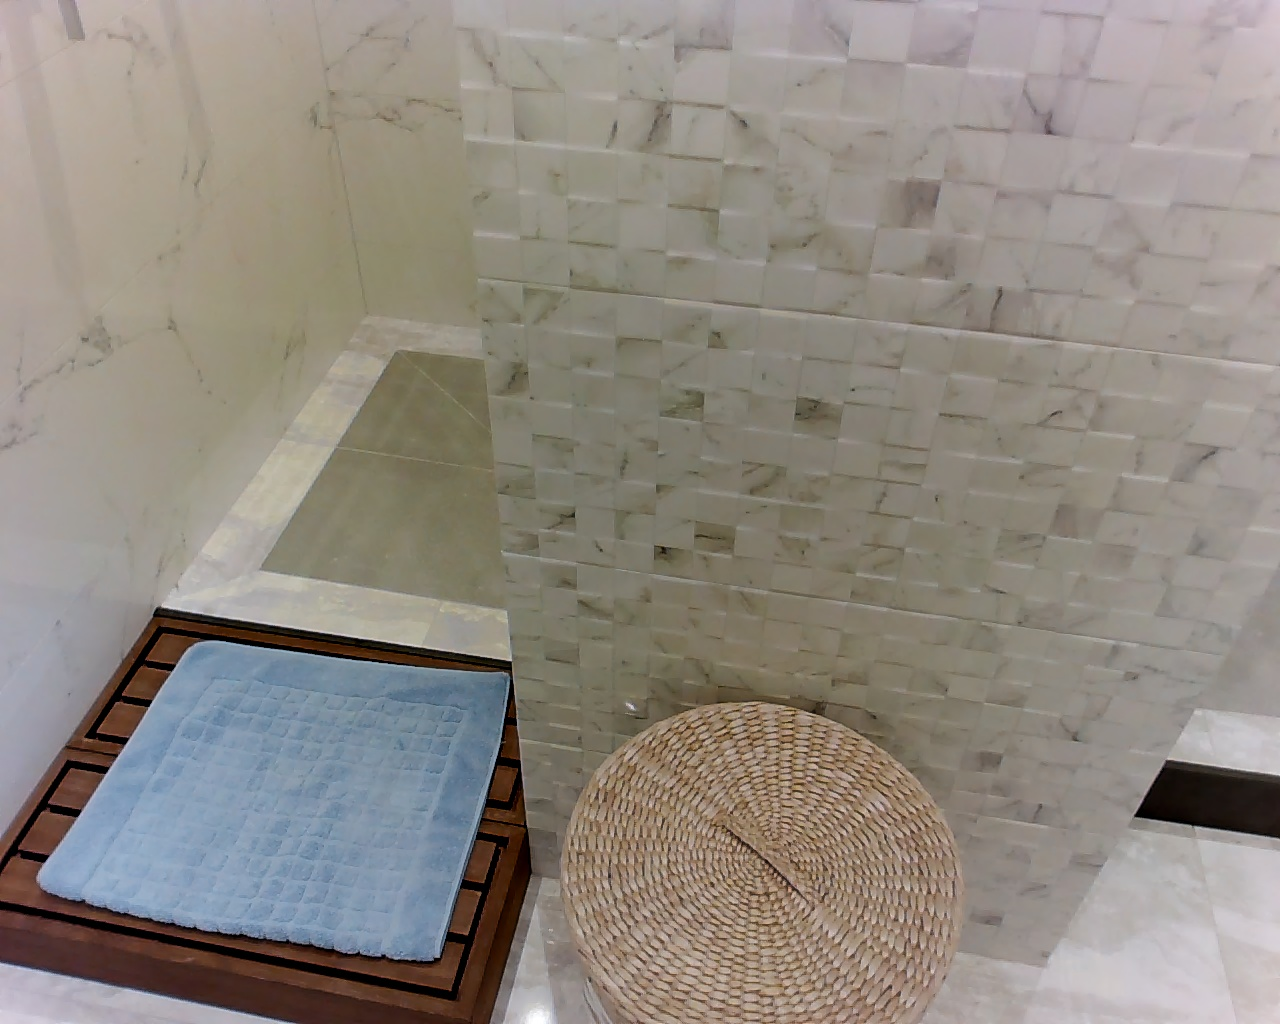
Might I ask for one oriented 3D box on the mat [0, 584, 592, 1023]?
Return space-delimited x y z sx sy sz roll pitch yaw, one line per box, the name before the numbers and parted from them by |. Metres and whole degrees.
mat | -0.440 0.360 1.460 0.640 0.050 0.560 8 43 8
